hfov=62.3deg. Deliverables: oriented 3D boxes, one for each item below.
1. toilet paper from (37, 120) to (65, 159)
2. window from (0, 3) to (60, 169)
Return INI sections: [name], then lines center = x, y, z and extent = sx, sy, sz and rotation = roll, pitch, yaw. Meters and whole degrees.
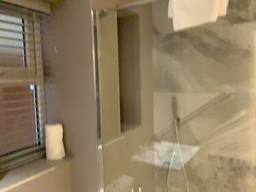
[toilet paper]
center = -0.490, 0.270, 1.350
extent = 0.130, 0.210, 0.100
rotation = 2, 7, 31
[window]
center = -0.620, -0.060, 1.270
extent = 0.030, 0.890, 0.440
rotation = 3, 7, 34
